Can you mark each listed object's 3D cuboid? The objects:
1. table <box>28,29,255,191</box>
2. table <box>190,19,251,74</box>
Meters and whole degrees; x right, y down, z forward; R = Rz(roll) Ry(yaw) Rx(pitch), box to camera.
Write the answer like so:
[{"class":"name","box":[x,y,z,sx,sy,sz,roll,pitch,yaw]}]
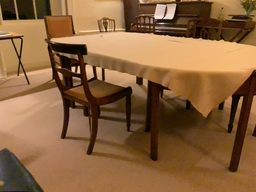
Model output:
[{"class":"table","box":[0.120,-0.210,2.190,1.250,0.710,2.300,-20,30,-41]},{"class":"table","box":[1.550,-0.880,3.630,0.510,0.820,0.690,-19,28,-40]}]
